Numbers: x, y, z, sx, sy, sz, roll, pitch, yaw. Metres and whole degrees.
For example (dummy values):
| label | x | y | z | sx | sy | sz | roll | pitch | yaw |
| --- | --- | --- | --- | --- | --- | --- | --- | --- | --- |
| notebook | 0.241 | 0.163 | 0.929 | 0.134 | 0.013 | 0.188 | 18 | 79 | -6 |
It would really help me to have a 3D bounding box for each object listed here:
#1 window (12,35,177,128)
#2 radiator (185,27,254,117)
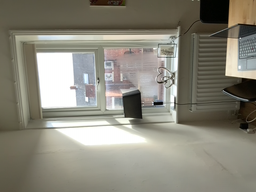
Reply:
| label | x | y | z | sx | sy | sz | roll | pitch | yaw |
| --- | --- | --- | --- | --- | --- | --- | --- | --- | --- |
| window | -0.350 | -0.200 | 2.670 | 0.200 | 1.890 | 1.080 | -123 | 32 | -77 |
| radiator | 1.070 | -0.280 | 2.520 | 0.120 | 0.730 | 1.030 | -125 | 33 | -77 |
